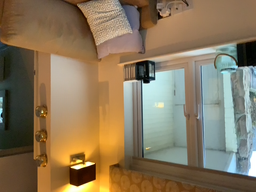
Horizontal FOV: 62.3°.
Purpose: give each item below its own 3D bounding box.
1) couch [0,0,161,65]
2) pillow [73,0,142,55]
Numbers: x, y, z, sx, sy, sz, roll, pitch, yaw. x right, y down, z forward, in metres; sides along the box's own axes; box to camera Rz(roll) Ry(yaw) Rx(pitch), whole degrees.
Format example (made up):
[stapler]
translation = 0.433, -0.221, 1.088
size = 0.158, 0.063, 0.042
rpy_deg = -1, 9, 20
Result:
[couch]
translation = -0.400, -0.870, 1.950
size = 0.880, 0.880, 1.190
rpy_deg = -3, 177, 39
[pillow]
translation = -0.190, -0.720, 2.040
size = 0.480, 0.440, 0.150
rpy_deg = -26, -156, 19
